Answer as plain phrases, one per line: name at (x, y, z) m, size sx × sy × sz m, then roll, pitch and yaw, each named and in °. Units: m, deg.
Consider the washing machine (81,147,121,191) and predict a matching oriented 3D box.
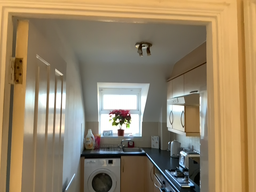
washing machine at (-0.460, 1.460, 3.780) m, size 0.630 × 0.970 × 0.730 m, roll 1°, pitch -4°, yaw -5°
